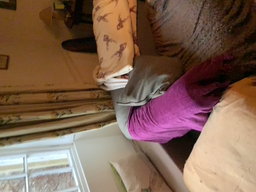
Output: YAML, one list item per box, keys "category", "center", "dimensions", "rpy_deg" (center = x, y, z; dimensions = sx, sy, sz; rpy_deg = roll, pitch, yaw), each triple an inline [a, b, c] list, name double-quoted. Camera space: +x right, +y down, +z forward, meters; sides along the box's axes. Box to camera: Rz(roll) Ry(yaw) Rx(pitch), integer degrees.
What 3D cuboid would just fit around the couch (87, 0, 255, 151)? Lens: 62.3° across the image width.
- category: "couch"
  center: [0.260, -0.650, 1.780]
  dimensions: [1.020, 0.780, 1.900]
  rpy_deg: [-45, 51, 52]
